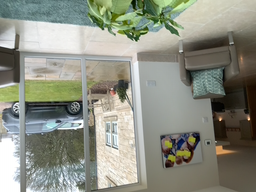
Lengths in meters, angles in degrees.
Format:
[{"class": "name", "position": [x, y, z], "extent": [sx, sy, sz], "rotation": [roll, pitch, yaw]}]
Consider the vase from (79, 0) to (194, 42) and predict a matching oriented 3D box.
[{"class": "vase", "position": [-0.010, -0.470, 0.770], "extent": [0.330, 0.440, 0.320], "rotation": [-2, 174, -13]}]
